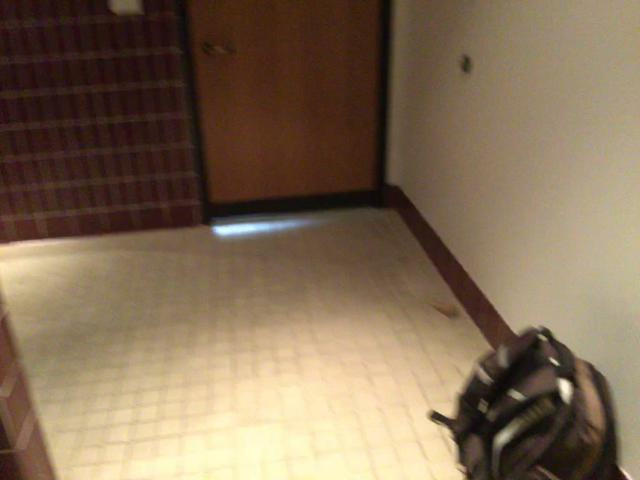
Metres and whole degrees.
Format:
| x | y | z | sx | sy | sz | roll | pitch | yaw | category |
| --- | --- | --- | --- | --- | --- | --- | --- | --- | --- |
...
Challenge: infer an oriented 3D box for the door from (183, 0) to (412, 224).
| x | y | z | sx | sy | sz | roll | pitch | yaw | category |
| --- | --- | --- | --- | --- | --- | --- | --- | --- | --- |
| -0.090 | -0.820 | 2.770 | 1.040 | 1.490 | 0.100 | -5 | 26 | -9 | door |
